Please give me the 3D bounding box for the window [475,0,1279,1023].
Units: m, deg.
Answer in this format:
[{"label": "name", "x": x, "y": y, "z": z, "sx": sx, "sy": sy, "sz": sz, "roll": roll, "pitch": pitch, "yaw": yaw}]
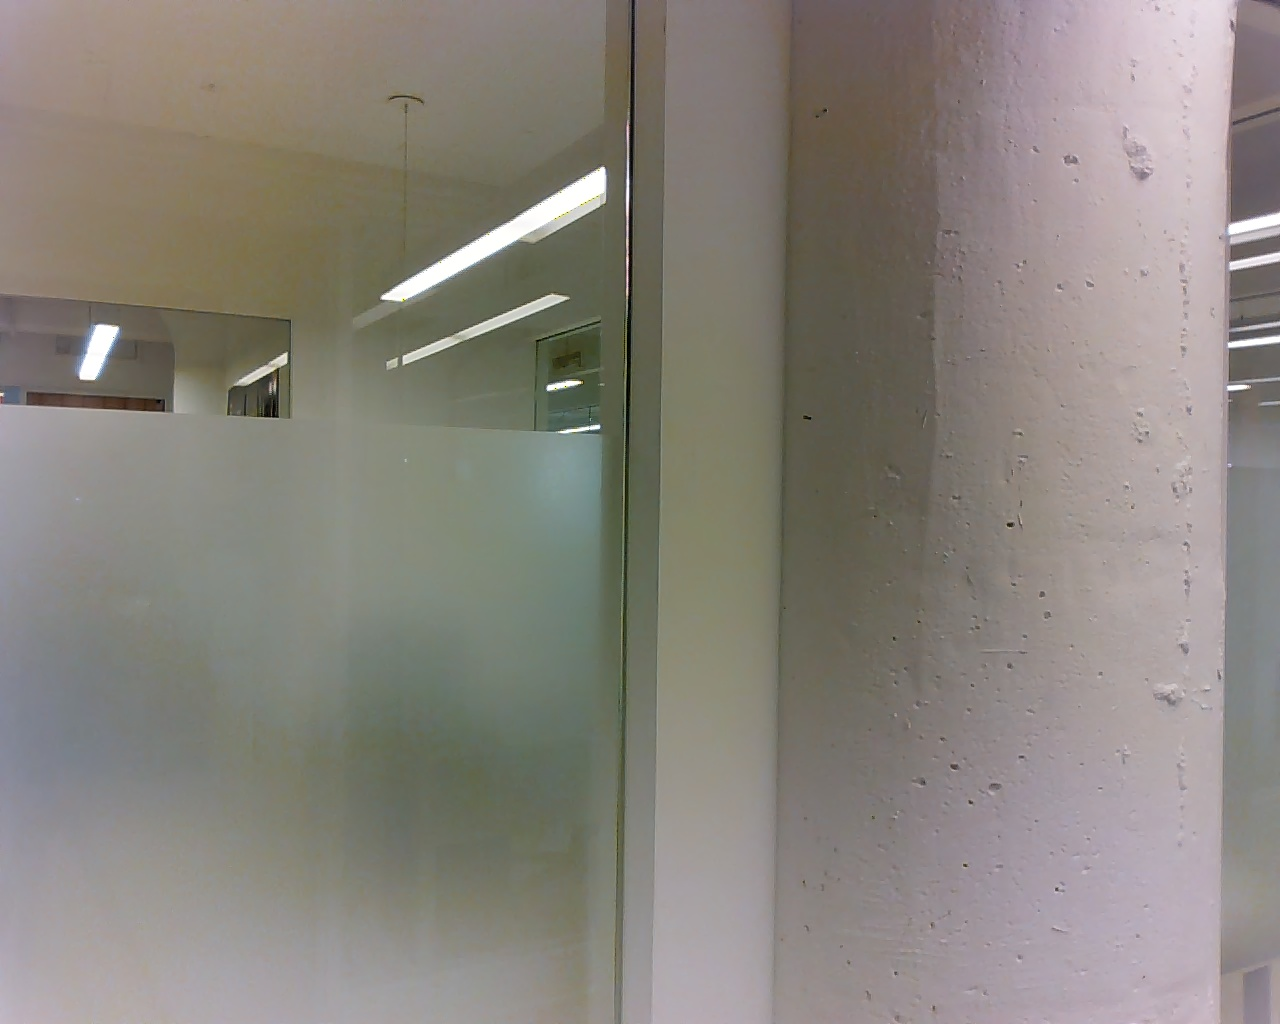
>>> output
[{"label": "window", "x": 0.320, "y": 0.000, "z": 3.510, "sx": 0.280, "sy": 2.901, "sz": 3.920, "roll": 1, "pitch": 0, "yaw": -30}]
